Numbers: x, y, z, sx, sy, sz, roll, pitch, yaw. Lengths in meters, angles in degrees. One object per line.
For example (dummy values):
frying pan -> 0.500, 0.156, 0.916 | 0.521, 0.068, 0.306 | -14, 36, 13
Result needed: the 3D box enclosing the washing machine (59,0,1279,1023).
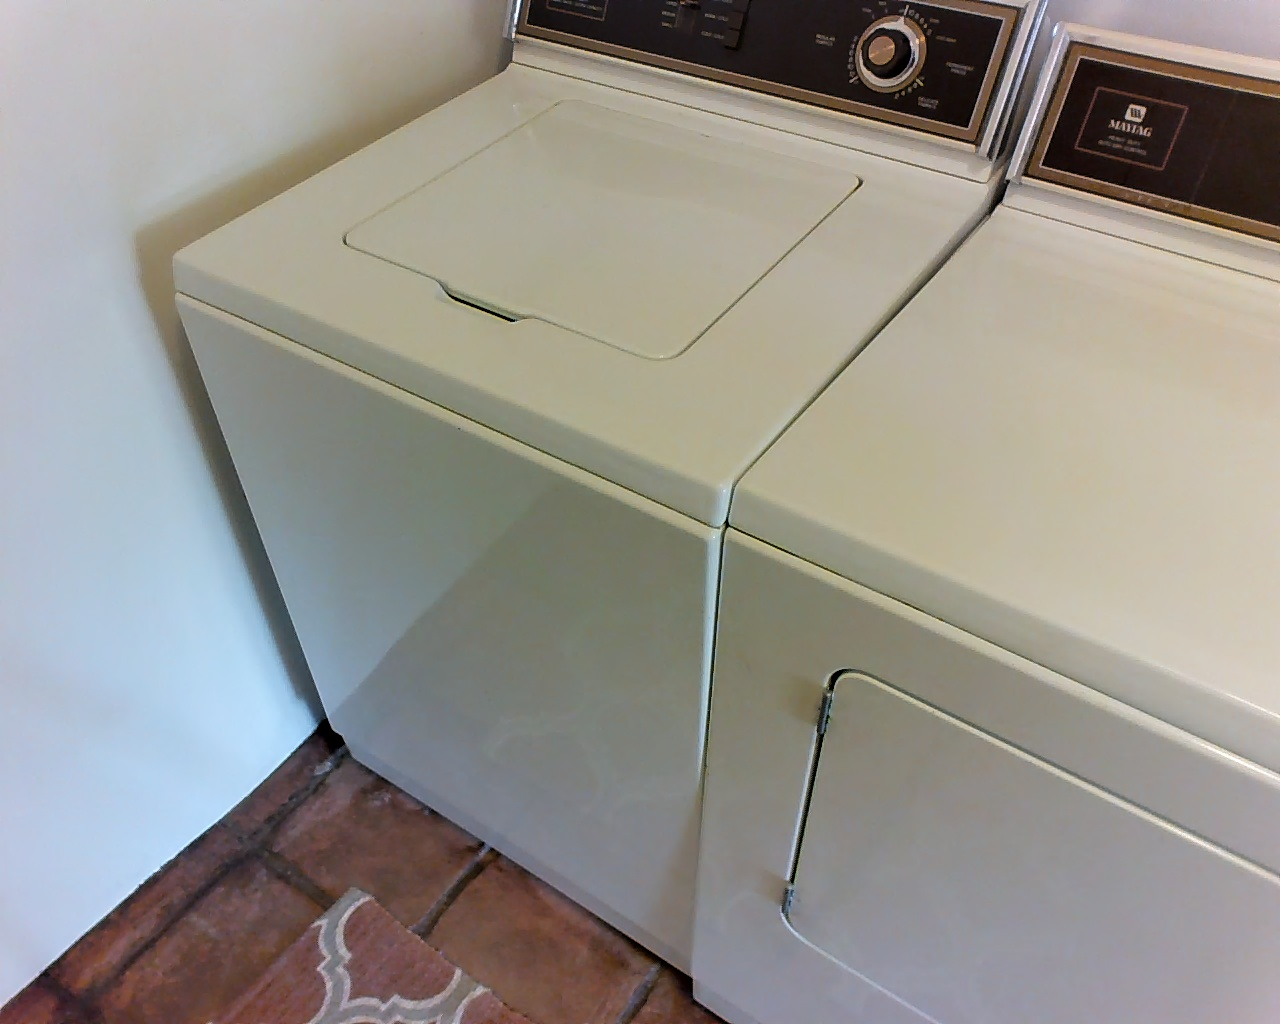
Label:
washing machine -> 0.290, 0.050, 1.310 | 1.460, 1.070, 0.830 | 25, 48, 25
